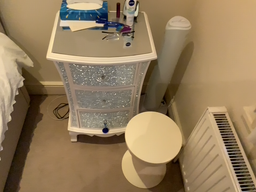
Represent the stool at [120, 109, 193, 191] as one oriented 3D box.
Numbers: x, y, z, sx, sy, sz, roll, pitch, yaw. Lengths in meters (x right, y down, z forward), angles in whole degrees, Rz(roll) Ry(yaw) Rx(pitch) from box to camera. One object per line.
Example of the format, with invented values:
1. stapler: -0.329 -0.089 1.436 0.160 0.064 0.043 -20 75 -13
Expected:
1. stool: 0.130 0.340 1.270 0.300 0.450 0.300 -4 52 -8
